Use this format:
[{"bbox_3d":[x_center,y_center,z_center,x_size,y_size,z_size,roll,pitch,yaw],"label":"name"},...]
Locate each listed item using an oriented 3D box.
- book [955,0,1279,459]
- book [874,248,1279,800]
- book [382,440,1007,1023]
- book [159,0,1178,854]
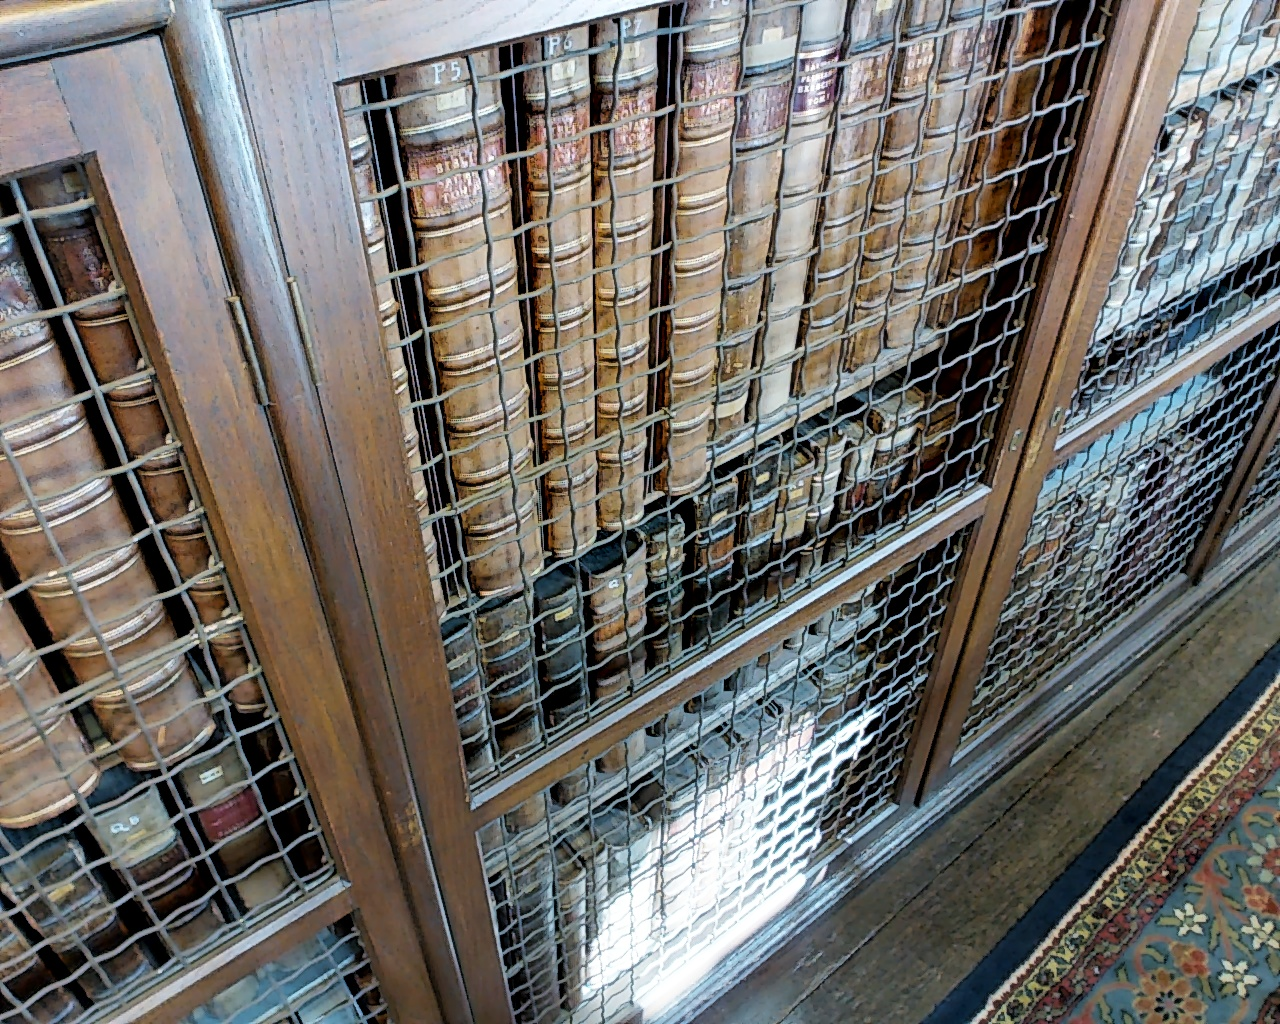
[{"bbox_3d":[0.720,-0.490,1.270,0.710,0.630,0.160,-29,49,-29],"label":"book"},{"bbox_3d":[0.730,0.020,1.720,0.700,0.660,0.190,-28,49,-28],"label":"book"},{"bbox_3d":[0.090,0.370,1.350,0.700,0.690,0.200,-30,50,-29],"label":"book"},{"bbox_3d":[0.090,-0.150,0.880,0.730,0.600,0.180,-28,49,-28],"label":"book"}]
